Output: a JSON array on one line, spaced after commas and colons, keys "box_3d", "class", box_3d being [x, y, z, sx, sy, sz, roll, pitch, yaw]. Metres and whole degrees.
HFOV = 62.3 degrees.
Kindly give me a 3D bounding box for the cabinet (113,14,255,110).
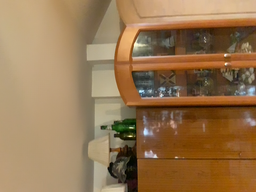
[{"box_3d": [0.880, -0.270, 2.060, 0.650, 1.980, 0.740, 63, -154, -82], "class": "cabinet"}]
